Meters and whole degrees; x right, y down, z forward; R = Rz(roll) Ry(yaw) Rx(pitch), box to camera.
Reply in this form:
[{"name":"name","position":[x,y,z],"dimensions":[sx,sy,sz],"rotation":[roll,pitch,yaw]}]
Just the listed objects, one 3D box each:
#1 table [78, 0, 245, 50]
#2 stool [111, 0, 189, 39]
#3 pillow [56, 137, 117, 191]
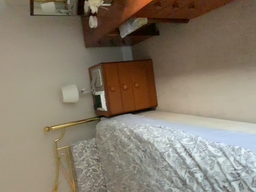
[{"name":"table","position":[0.100,-0.840,1.900],"dimensions":[1.640,0.630,0.520],"rotation":[0,98,63]},{"name":"stool","position":[0.180,-0.800,1.950],"dimensions":[0.520,0.470,0.410],"rotation":[0,98,63]},{"name":"pillow","position":[-0.440,0.810,2.330],"dimensions":[0.650,0.330,0.100],"rotation":[55,157,-17]}]
